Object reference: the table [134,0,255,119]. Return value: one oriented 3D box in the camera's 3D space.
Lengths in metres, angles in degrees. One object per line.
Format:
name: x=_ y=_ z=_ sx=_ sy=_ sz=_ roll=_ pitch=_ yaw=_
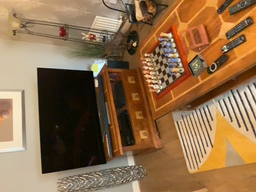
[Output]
table: x=0.630 y=-0.410 z=1.720 sx=1.300 sy=0.460 sz=0.820 roll=-40 pitch=55 yaw=54
